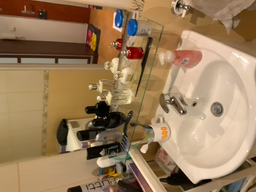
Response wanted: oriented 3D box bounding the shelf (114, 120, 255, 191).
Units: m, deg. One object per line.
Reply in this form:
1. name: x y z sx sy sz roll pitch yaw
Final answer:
1. shelf: 0.460 0.390 1.220 0.370 0.990 0.230 49 133 47

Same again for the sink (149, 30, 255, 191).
1. sink: 0.330 0.080 0.880 0.430 0.140 0.570 48 133 47
